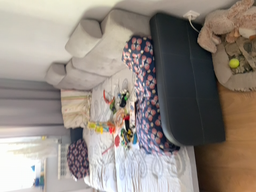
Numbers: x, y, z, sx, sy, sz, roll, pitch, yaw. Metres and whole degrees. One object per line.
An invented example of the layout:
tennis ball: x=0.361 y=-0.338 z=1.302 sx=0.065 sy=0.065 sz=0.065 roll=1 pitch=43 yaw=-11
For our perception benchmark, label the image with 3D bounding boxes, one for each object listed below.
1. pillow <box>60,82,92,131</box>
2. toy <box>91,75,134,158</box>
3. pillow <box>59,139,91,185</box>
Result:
pillow: x=-0.770 y=0.170 z=3.100 sx=0.450 sy=0.340 sz=0.650 roll=-18 pitch=71 yaw=57
toy: x=-0.200 y=0.250 z=2.290 sx=0.660 sy=0.140 sz=0.780 roll=-22 pitch=68 yaw=57
pillow: x=-0.760 y=0.910 z=3.010 sx=0.380 sy=0.330 sz=0.560 roll=-17 pitch=72 yaw=57
